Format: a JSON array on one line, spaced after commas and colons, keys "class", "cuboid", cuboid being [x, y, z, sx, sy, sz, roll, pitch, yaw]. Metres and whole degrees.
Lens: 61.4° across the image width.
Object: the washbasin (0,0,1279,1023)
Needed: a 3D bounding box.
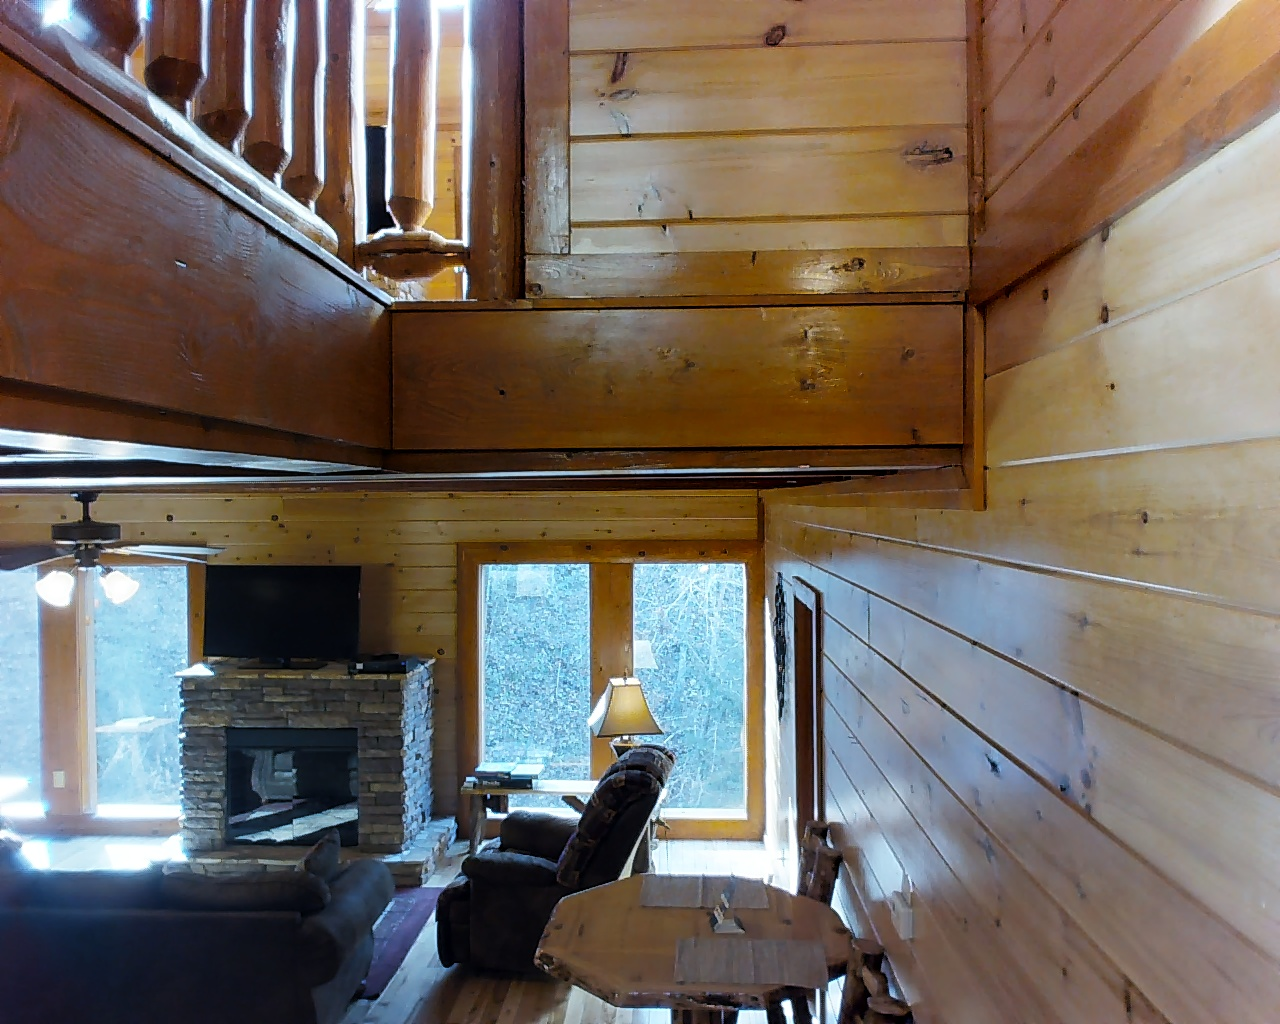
[{"class": "washbasin", "cuboid": [-2.429, -3.321, 4.330, 10.396, 14.685, 10.980, -1, 1, 3]}]
